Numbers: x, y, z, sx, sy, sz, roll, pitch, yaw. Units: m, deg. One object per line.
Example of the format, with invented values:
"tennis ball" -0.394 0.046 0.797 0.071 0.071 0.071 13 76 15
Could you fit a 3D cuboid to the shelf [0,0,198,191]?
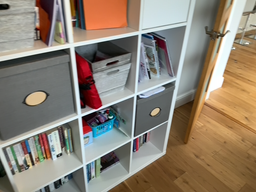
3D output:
"shelf" -0.350 -0.010 1.150 1.470 1.450 0.420 -21 40 -33
